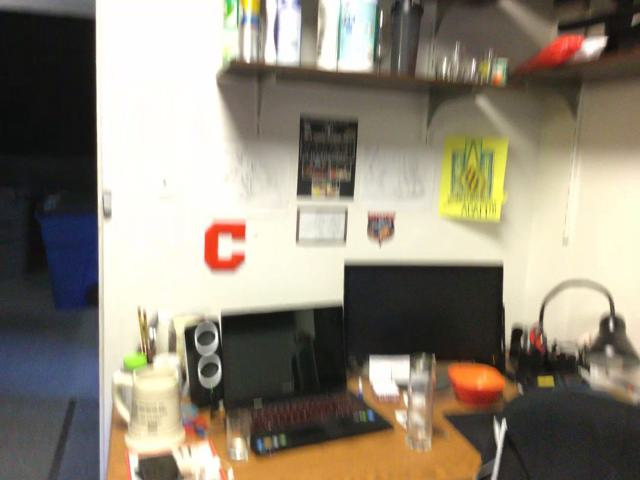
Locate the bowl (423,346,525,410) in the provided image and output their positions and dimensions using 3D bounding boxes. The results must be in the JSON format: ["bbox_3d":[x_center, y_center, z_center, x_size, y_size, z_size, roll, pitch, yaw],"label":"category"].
[{"bbox_3d":[0.460,0.410,1.750,0.210,0.100,0.210,0,10,-17],"label":"bowl"}]

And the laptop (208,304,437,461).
[{"bbox_3d":[-0.020,0.360,1.600,0.520,0.240,0.420,0,10,-17],"label":"laptop"}]
